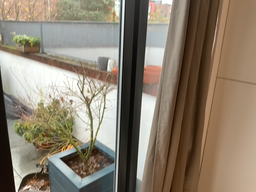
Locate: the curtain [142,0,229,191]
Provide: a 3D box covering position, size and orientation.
[{"bbox_3d":[0.320,0.130,1.270,0.170,2.110,0.450,16,21,37],"label":"curtain"}]
